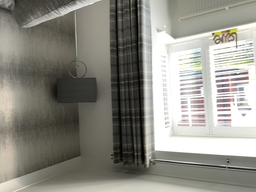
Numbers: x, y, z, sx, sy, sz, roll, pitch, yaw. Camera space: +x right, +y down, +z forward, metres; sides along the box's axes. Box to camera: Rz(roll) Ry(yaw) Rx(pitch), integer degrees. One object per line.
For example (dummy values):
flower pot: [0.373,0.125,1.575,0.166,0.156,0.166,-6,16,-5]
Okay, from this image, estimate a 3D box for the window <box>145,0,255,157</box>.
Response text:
window: [1.190,-0.230,2.480,1.910,1.750,0.350,-4,179,31]

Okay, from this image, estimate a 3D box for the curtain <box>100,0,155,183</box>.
curtain: [-0.020,-0.260,2.190,0.430,2.190,0.170,-4,179,28]
